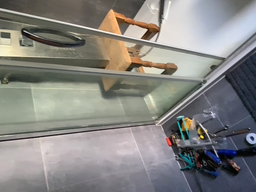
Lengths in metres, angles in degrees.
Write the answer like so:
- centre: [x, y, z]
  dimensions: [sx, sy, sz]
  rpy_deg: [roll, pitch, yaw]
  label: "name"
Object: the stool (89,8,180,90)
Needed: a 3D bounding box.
- centre: [0.040, -0.310, 1.530]
  dimensions: [0.270, 0.480, 0.440]
  rpy_deg: [-41, 57, 43]
  label: "stool"
